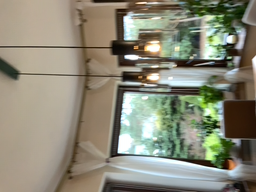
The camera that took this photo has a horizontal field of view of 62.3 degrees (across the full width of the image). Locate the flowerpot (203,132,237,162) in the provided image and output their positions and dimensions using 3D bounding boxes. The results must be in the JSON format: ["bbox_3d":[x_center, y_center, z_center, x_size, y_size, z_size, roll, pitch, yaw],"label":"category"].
[{"bbox_3d":[1.220,0.670,2.850,0.300,0.350,0.350,58,-145,-77],"label":"flowerpot"}]
